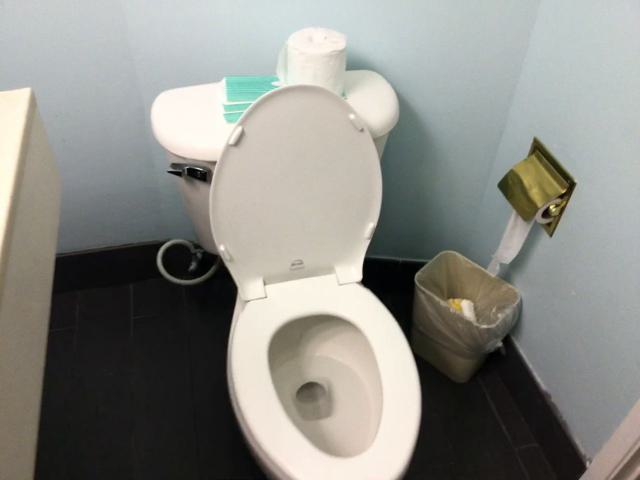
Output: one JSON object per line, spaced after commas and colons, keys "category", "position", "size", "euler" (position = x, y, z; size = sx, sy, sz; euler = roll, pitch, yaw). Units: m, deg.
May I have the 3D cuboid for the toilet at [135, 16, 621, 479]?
{"category": "toilet", "position": [0.000, 0.140, 1.160], "size": [0.530, 0.850, 0.740], "euler": [-10, 43, -10]}
